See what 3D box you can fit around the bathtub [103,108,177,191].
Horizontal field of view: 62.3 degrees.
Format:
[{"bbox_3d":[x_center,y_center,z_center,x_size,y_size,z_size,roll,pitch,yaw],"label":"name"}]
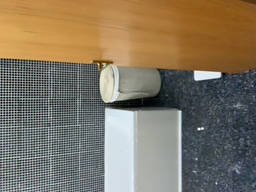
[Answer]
[{"bbox_3d":[0.100,0.980,2.300,0.720,0.510,1.670,177,93,-64],"label":"bathtub"}]
